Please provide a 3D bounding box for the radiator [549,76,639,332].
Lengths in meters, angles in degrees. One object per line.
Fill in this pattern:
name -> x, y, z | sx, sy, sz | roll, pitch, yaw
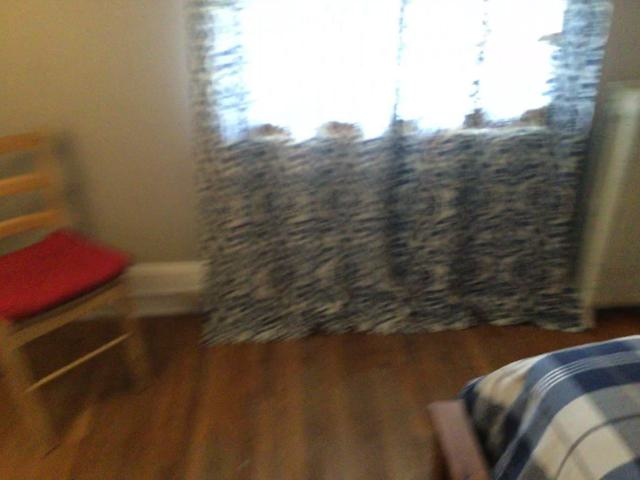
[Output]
radiator -> 1.280, -0.130, 2.240 | 0.550, 0.940, 0.290 | -3, 27, 0
